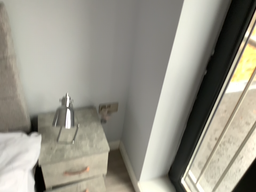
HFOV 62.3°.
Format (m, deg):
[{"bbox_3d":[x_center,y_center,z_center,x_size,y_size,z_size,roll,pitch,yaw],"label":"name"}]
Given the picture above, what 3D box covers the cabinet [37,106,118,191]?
[{"bbox_3d":[-0.360,0.430,1.470,0.430,0.510,0.430,-7,38,-20],"label":"cabinet"}]
